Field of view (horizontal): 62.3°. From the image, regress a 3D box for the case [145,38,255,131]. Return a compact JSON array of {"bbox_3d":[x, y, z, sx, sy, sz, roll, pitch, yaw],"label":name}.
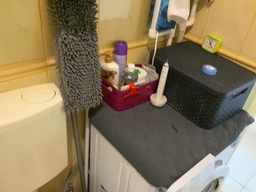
[{"bbox_3d":[0.310,-0.080,0.940,0.240,0.200,0.390,-20,43,-35],"label":"case"}]
